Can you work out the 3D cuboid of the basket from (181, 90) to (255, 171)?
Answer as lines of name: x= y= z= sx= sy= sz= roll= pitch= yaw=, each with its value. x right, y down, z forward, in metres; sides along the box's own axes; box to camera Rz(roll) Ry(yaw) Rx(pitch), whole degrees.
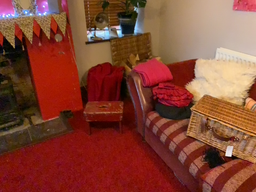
basket: x=0.720 y=0.220 z=1.590 sx=0.480 sy=0.310 sz=0.400 roll=18 pitch=31 yaw=33
